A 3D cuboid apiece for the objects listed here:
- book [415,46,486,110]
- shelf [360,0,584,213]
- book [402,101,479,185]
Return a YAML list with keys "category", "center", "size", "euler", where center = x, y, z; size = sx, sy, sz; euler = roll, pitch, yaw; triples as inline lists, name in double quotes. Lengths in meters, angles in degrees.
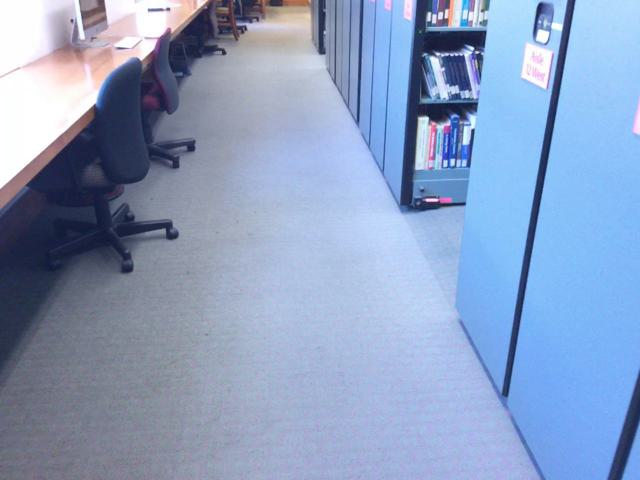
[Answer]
- category: "book"
  center: [0.650, -0.820, 2.920]
  size: [0.280, 0.290, 0.200]
  euler: [-1, 21, -4]
- category: "shelf"
  center: [0.740, -1.440, 3.120]
  size: [0.810, 2.280, 1.290]
  euler: [-1, 21, -4]
- category: "book"
  center: [0.630, -0.520, 3.070]
  size: [0.320, 0.400, 0.230]
  euler: [-1, 21, -4]
